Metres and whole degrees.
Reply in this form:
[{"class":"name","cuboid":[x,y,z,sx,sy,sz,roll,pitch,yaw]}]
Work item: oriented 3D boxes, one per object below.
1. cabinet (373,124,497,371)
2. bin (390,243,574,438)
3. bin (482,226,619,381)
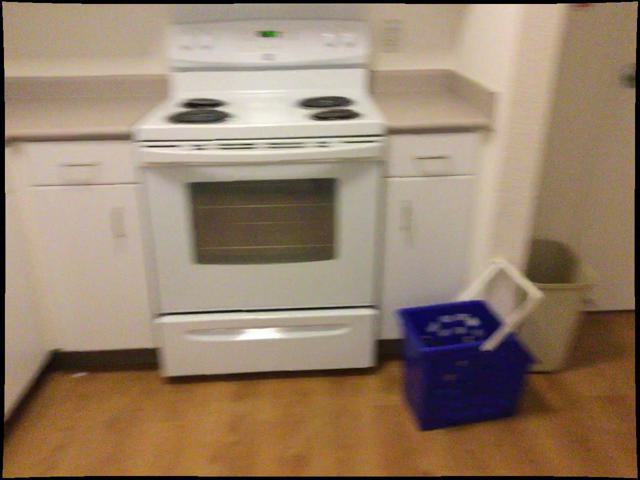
[{"class":"cabinet","cuboid":[0.370,0.050,1.980,0.350,0.861,0.130,-2,24,0]},{"class":"bin","cuboid":[0.480,0.310,1.870,0.450,0.470,0.390,-2,24,0]},{"class":"bin","cuboid":[0.819,0.220,2.140,0.290,0.400,0.430,-2,24,0]}]
